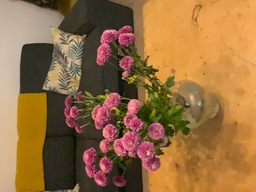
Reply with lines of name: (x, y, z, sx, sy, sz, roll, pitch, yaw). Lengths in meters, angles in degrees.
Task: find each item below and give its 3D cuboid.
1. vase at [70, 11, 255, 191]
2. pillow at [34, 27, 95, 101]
vase: (0.150, 0.140, 0.570, 0.480, 0.450, 0.470, 1, 89, 56)
pillow: (-0.570, -0.280, 1.900, 0.550, 0.310, 0.160, -65, -10, 8)
